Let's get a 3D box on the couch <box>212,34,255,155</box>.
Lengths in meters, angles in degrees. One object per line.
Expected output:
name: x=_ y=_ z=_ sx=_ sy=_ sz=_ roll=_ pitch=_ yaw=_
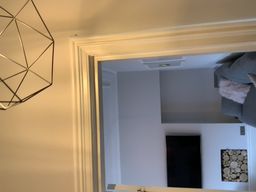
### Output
couch: x=1.840 y=-0.060 z=3.000 sx=2.360 sy=0.820 sz=1.120 roll=-11 pitch=-81 yaw=-77
